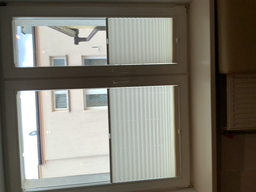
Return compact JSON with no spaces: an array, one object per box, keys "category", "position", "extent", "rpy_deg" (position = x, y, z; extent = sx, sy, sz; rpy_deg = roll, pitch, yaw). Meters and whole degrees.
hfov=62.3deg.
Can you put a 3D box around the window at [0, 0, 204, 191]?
[{"category":"window","position":[-0.190,0.050,1.630],"extent":[0.160,1.530,1.460],"rpy_deg":[-168,76,-81]}]
